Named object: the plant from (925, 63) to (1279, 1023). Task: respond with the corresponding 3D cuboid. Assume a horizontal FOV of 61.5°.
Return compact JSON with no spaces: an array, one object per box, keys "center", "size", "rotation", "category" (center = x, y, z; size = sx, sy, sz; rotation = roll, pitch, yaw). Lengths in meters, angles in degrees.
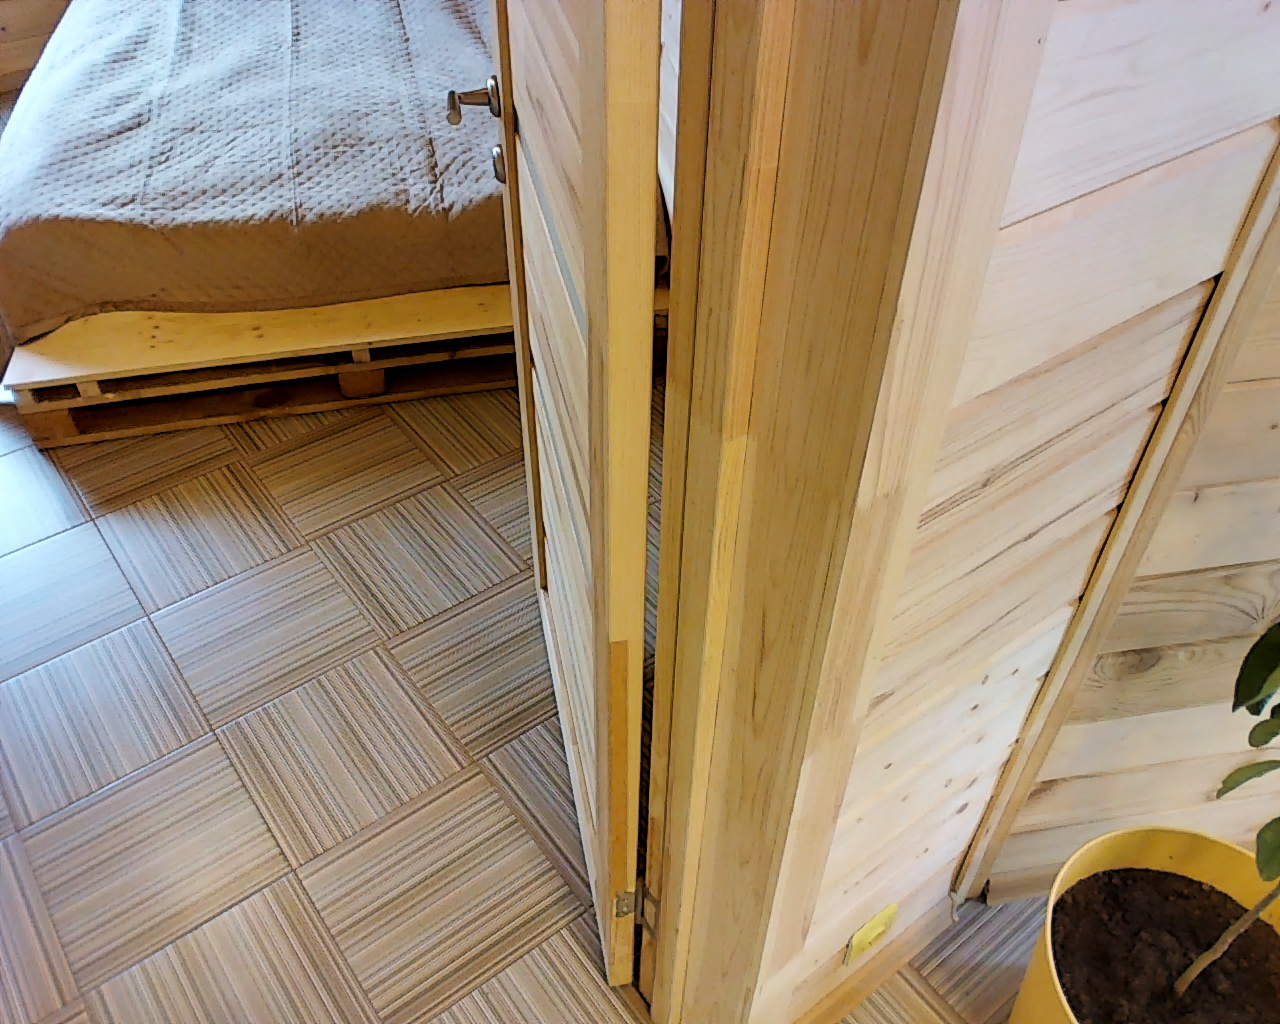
[{"center":[0.670,0.280,1.070],"size":[0.370,1.310,0.450],"rotation":[-7,44,-8],"category":"plant"}]
